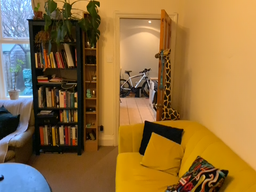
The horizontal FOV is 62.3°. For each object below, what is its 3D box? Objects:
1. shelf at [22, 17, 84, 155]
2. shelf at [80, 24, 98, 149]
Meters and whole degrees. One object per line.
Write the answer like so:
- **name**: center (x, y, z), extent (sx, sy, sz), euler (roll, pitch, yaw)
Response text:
- **shelf**: center (-1.020, -0.100, 3.040), extent (0.700, 1.890, 0.310), euler (1, 12, -5)
- **shelf**: center (-0.570, -0.090, 3.160), extent (0.220, 1.840, 0.150), euler (1, 12, -5)
